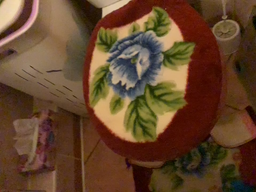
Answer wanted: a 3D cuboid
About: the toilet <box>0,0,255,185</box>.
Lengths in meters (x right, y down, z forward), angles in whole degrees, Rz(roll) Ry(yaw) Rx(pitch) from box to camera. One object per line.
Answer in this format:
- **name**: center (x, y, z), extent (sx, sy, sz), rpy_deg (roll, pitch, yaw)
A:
- **toilet**: center (0.030, -0.180, 0.630), extent (0.380, 0.780, 0.740), rpy_deg (-19, 61, 16)
